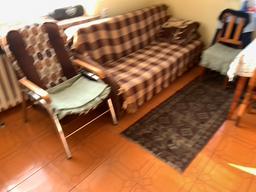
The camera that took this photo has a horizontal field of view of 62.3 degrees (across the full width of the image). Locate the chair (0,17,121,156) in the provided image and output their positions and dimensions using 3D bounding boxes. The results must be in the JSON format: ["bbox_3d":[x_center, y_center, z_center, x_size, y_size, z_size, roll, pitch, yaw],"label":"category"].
[{"bbox_3d":[-0.590,-0.150,1.990,0.860,0.890,0.610,28,42,33],"label":"chair"}]

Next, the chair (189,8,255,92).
[{"bbox_3d":[1.270,-0.640,2.850,0.480,0.860,0.660,27,41,32],"label":"chair"}]
